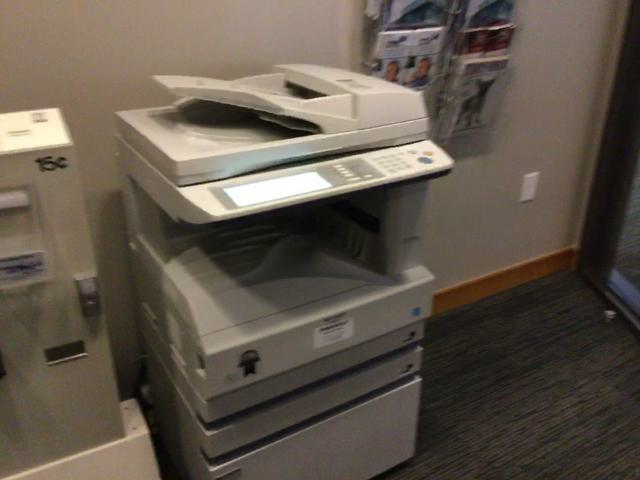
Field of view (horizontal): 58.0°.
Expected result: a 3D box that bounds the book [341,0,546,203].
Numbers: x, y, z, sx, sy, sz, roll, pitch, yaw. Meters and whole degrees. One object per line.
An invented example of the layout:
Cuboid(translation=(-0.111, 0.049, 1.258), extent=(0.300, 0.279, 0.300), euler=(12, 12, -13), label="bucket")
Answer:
Cuboid(translation=(0.390, -0.750, 1.730), extent=(0.690, 1.160, 0.150), euler=(-17, 29, -28), label="book")

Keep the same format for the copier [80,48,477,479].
Cuboid(translation=(-0.100, 0.140, 1.480), extent=(0.640, 1.090, 0.610), euler=(-17, 29, -28), label="copier")
